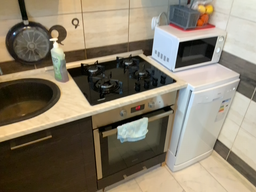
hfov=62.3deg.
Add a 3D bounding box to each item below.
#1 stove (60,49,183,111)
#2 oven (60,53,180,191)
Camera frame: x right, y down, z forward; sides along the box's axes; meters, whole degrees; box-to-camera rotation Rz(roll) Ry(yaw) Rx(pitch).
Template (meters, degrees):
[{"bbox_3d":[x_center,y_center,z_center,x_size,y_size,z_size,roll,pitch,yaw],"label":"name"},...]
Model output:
[{"bbox_3d":[-0.070,-0.160,1.450,0.640,0.040,0.590,-15,37,-24],"label":"stove"},{"bbox_3d":[-0.090,0.200,1.700,0.640,0.840,0.580,-15,37,-24],"label":"oven"}]
